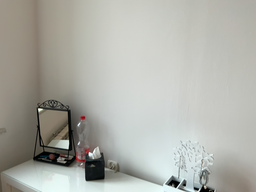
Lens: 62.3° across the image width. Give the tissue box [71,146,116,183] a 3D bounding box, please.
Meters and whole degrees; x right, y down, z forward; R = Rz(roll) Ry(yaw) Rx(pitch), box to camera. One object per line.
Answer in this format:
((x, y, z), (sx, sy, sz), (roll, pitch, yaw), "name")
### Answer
((-0.220, 0.430, 1.370), (0.200, 0.110, 0.200), (7, 11, 30), "tissue box")
